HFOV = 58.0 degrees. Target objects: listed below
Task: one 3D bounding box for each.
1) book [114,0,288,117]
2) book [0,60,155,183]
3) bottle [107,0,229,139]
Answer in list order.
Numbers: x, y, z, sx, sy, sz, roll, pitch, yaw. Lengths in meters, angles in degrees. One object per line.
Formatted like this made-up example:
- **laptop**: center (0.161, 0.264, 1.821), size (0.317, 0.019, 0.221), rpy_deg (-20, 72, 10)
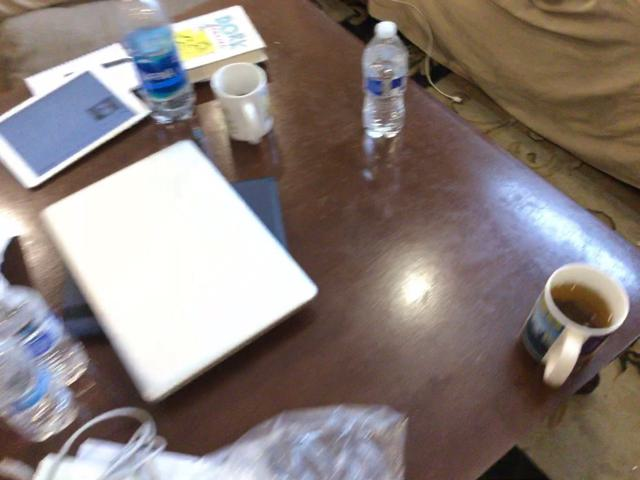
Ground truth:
- **book**: center (-0.220, -0.360, 1.080), size (0.240, 0.050, 0.210), rpy_deg (-33, 61, -20)
- **book**: center (-0.420, -0.210, 0.990), size (0.200, 0.030, 0.180), rpy_deg (-36, 62, -21)
- **bottle**: center (-0.250, -0.290, 0.970), size (0.110, 0.150, 0.150), rpy_deg (-33, 61, -20)
